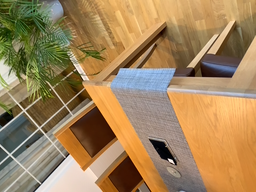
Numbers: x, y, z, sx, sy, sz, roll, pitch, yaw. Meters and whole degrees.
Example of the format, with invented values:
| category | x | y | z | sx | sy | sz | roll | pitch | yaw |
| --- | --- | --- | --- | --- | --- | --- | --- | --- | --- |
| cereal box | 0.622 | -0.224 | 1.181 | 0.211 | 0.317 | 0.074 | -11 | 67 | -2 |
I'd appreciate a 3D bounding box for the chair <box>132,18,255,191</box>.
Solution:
| category | x | y | z | sx | sy | sz | roll | pitch | yaw |
| --- | --- | --- | --- | --- | --- | --- | --- | --- | --- |
| chair | 0.610 | 0.110 | 0.920 | 0.600 | 1.010 | 0.480 | 13 | 138 | 40 |
